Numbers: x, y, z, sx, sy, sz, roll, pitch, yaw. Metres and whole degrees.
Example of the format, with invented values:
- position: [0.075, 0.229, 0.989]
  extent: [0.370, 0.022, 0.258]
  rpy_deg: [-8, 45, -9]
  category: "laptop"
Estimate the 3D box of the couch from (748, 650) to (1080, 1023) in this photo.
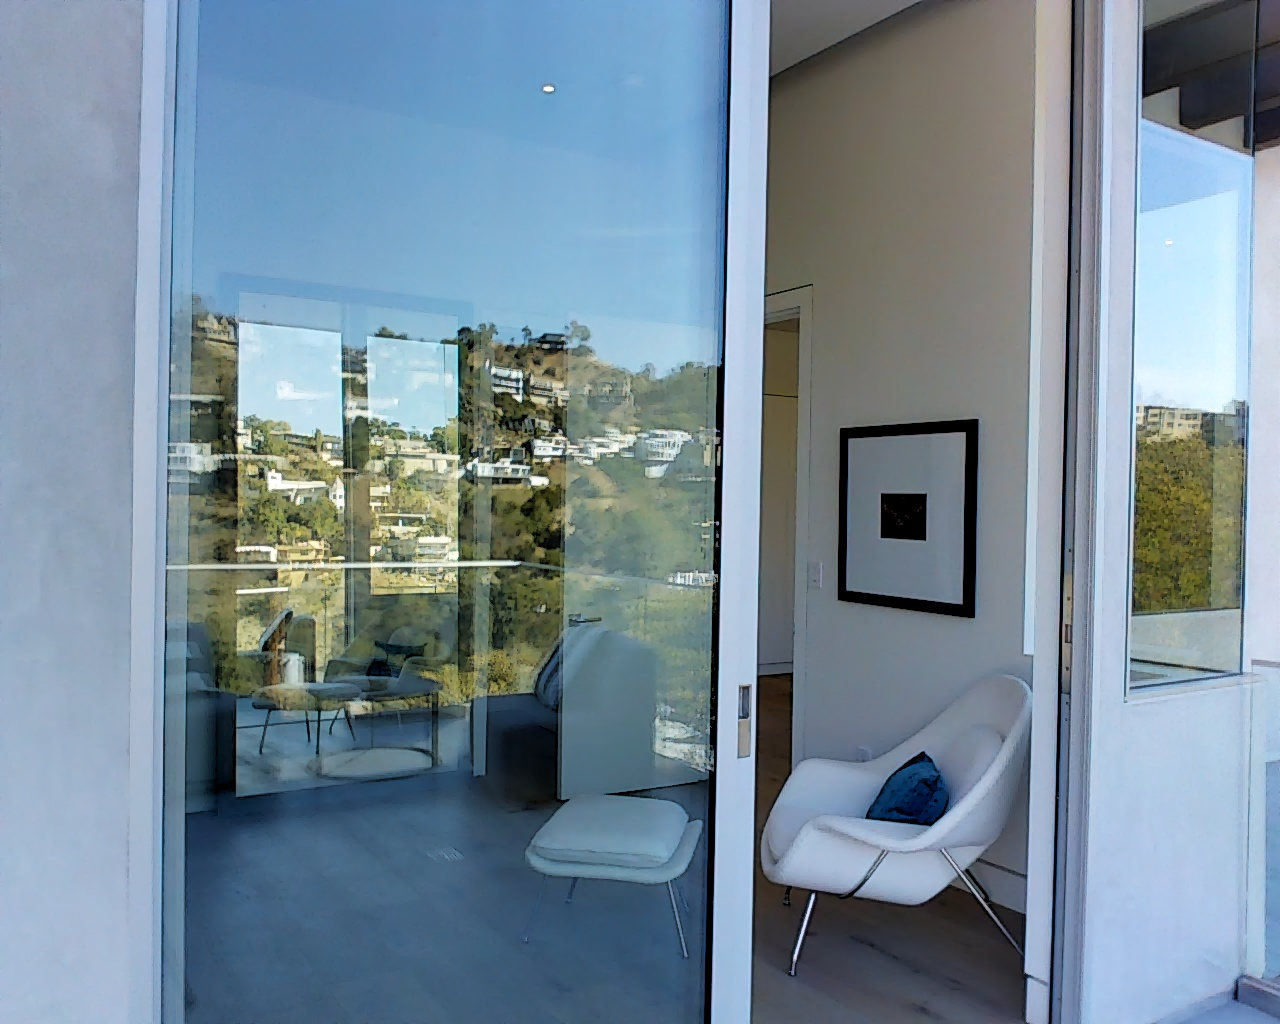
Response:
- position: [0.870, 1.020, 3.720]
  extent: [0.950, 0.920, 1.070]
  rpy_deg: [1, 0, 7]
  category: "couch"
